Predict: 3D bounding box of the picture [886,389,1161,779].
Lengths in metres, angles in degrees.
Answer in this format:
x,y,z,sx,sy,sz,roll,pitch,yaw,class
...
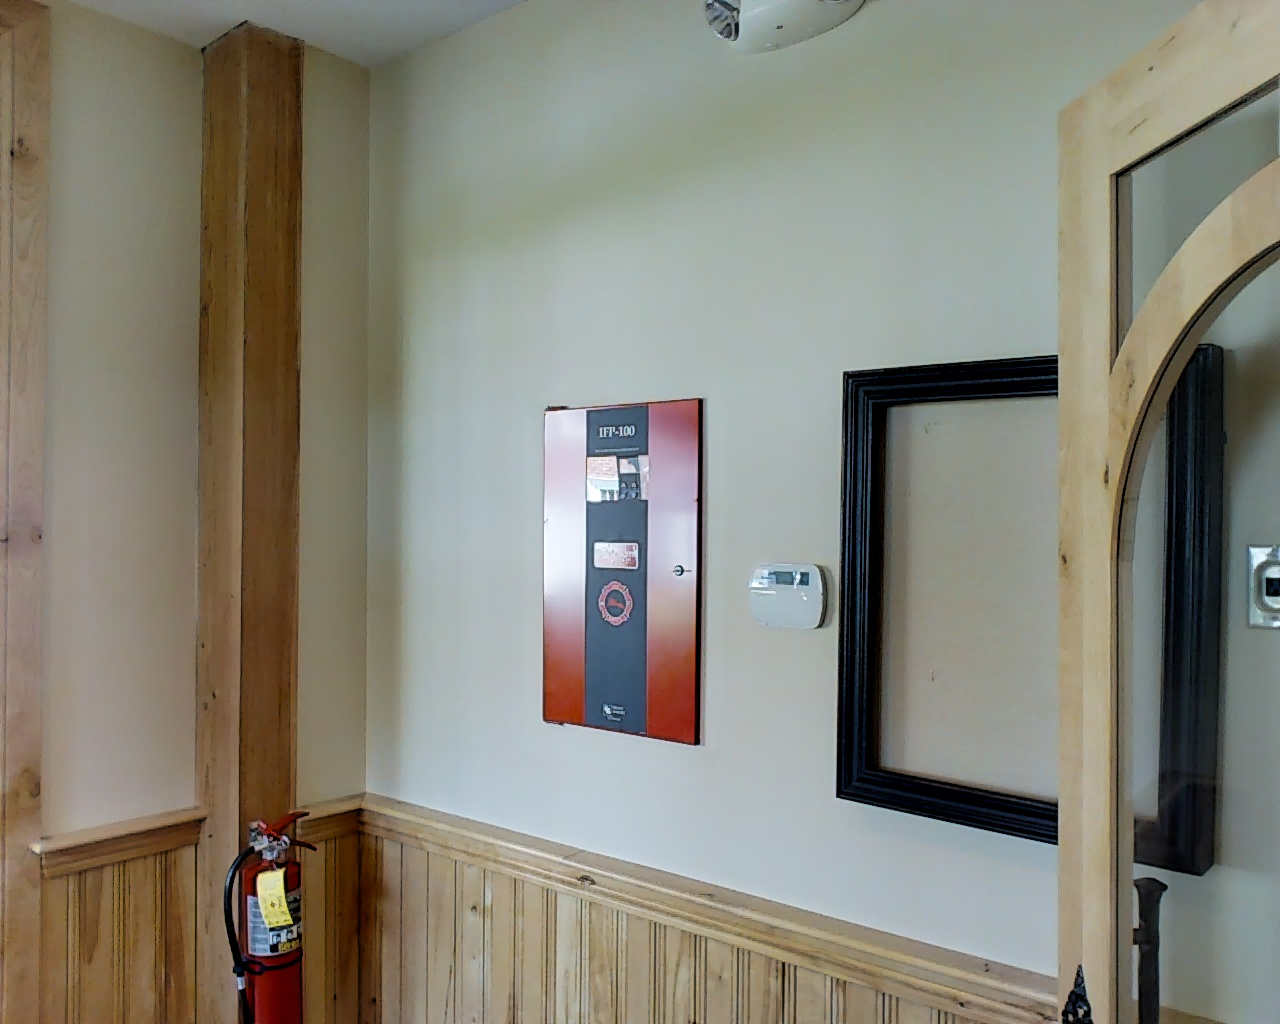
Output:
x,y,z,sx,sy,sz,roll,pitch,yaw,class
0.570,0.100,1.630,0.400,0.540,0.050,0,-1,39,picture

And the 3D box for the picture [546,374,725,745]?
x,y,z,sx,sy,sz,roll,pitch,yaw,class
-0.020,0.090,2.170,0.450,0.700,0.020,0,-1,39,picture
